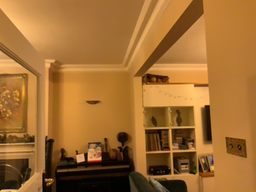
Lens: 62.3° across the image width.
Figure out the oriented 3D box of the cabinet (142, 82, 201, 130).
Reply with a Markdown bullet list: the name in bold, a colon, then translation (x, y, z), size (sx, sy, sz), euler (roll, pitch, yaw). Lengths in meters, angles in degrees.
- **cabinet**: translation (0.840, 0.200, 4.180), size (1.040, 0.880, 0.300), euler (-1, -5, -5)
